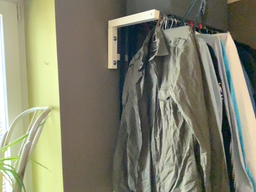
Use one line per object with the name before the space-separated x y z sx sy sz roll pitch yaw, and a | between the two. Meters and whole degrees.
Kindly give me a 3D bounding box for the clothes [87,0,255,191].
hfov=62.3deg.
clothes | 0.320 0.100 1.080 0.800 0.800 0.610 -4 2 -41
